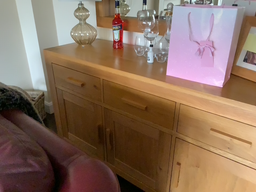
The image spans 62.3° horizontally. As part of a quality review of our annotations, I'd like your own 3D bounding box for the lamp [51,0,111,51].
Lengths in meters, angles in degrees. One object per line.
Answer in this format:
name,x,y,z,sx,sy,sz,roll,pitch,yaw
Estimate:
lamp,-0.330,-0.620,1.510,0.260,0.500,0.310,21,34,35
